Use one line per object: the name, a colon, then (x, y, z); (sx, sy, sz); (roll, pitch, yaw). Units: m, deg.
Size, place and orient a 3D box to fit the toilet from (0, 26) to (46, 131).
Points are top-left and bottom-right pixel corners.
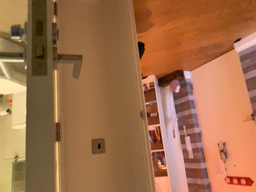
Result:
toilet: (-1.250, -0.120, 2.180); (0.450, 0.870, 0.640); (-10, 166, 14)
